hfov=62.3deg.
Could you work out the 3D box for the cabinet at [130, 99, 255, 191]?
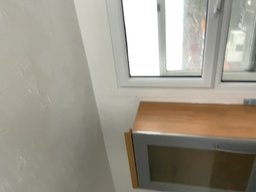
[{"bbox_3d":[0.430,0.370,1.350,0.320,0.730,0.600,-68,-24,-55],"label":"cabinet"}]
